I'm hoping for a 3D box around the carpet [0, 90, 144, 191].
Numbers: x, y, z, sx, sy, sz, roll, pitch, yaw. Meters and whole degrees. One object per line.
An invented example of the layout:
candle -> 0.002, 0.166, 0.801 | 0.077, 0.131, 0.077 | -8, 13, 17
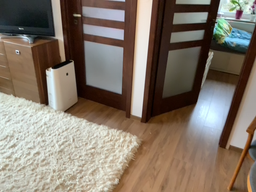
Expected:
carpet -> -1.240, 0.490, 2.000 | 2.380, 0.070, 1.600 | 14, 30, 19
